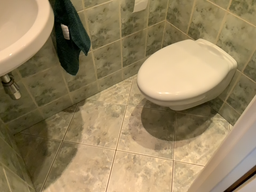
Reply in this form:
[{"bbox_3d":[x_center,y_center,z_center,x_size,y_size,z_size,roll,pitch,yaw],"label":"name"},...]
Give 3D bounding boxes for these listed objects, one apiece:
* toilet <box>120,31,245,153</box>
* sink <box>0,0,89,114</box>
[{"bbox_3d":[0.270,-0.030,1.210,0.510,0.390,0.360,-28,57,-20],"label":"toilet"},{"bbox_3d":[-0.420,-0.180,0.700,0.410,0.190,0.410,-28,57,-20],"label":"sink"}]
